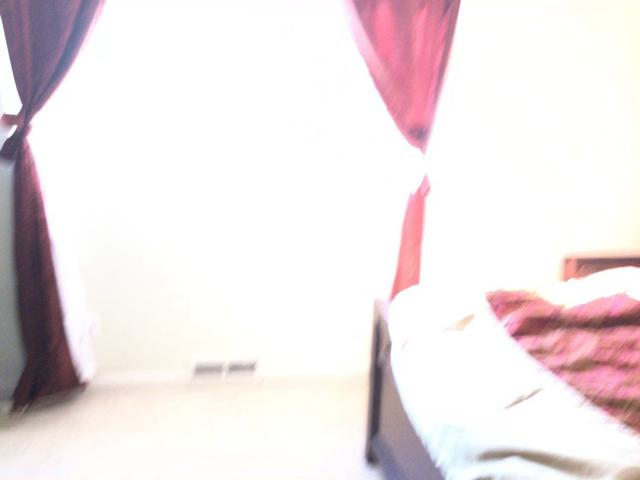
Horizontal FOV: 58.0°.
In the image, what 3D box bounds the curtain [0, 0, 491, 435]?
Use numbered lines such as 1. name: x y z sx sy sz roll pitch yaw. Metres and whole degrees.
1. curtain: -0.350 -0.380 2.340 2.020 2.130 0.340 -4 13 -10
